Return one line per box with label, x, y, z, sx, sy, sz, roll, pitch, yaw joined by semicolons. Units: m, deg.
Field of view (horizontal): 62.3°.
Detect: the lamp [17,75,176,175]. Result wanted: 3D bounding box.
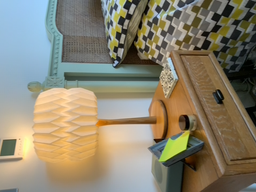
lamp;-0.110;0.100;0.760;0.260;0.440;0.230;104;160;-49
